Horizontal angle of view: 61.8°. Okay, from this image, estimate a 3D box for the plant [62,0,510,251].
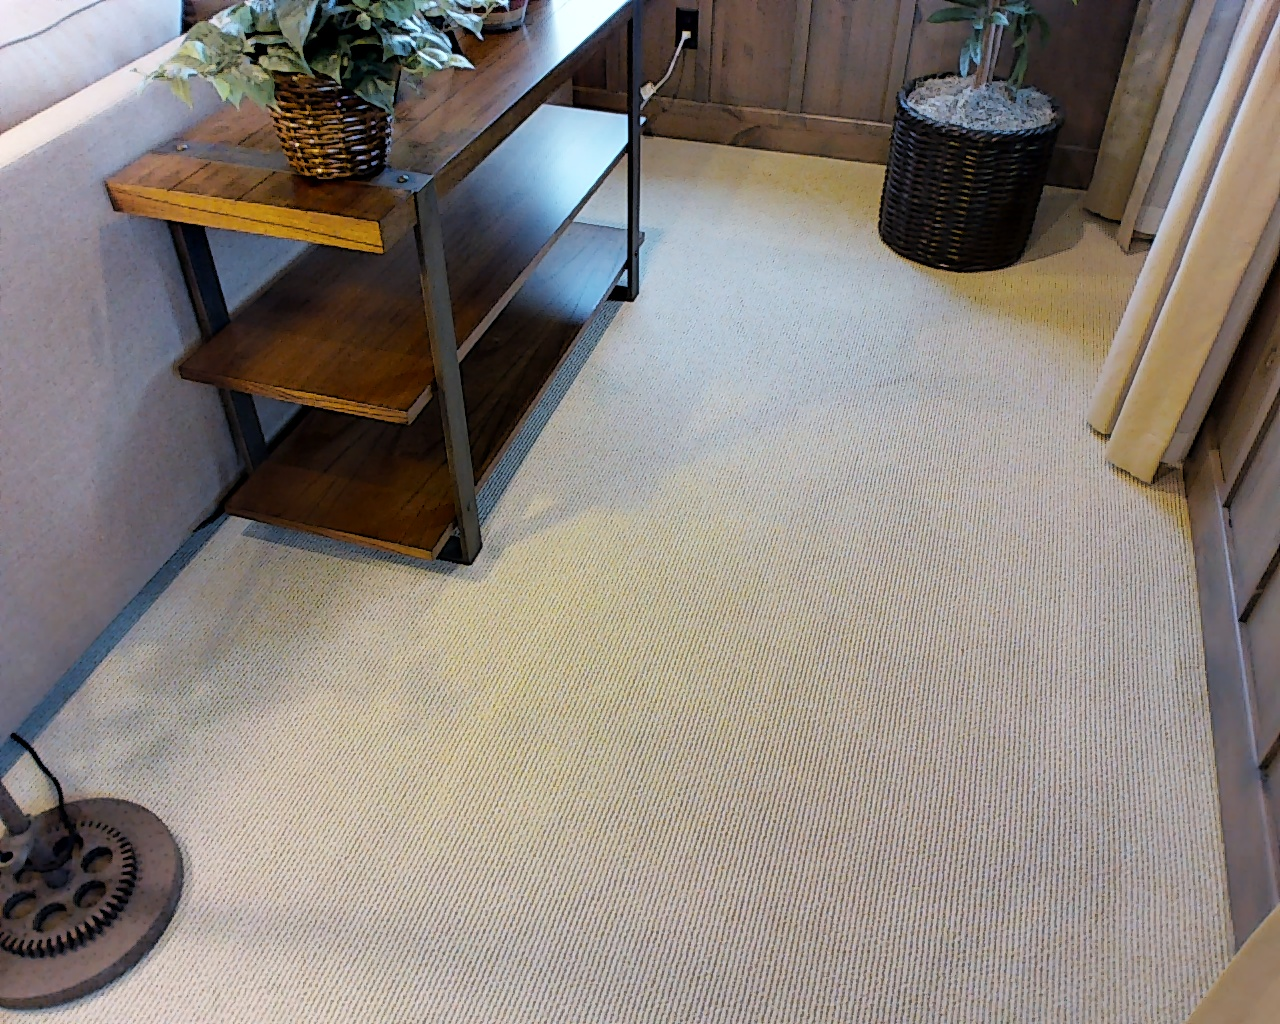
[{"bbox_3d":[-0.460,-0.640,1.520,0.380,0.300,0.460,12,43,13],"label":"plant"}]

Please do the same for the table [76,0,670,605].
[{"bbox_3d":[-0.380,-0.580,2.230,0.530,0.740,1.330,12,42,12],"label":"table"}]
